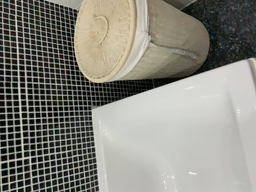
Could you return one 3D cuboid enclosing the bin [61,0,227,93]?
[{"bbox_3d":[0.080,-0.270,1.050,0.480,0.610,0.400,-18,76,46],"label":"bin"}]
